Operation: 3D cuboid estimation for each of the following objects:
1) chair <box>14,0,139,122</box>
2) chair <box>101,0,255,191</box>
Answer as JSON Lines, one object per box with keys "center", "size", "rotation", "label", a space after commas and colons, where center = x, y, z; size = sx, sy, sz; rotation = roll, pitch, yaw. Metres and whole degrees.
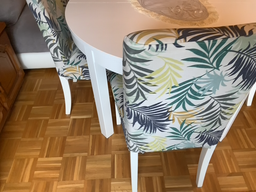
{"center": [-0.230, -0.330, 1.360], "size": [0.540, 0.970, 0.480], "rotation": [-2, 46, -1], "label": "chair"}
{"center": [0.170, 0.010, 1.020], "size": [0.500, 0.980, 0.540], "rotation": [-5, 46, -4], "label": "chair"}
